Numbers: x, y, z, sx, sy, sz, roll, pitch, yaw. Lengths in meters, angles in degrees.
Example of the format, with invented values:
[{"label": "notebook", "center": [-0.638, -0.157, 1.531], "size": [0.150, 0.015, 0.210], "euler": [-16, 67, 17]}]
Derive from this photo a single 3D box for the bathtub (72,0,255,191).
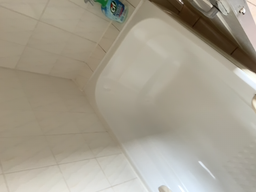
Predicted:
[{"label": "bathtub", "center": [0.470, 0.230, 1.060], "size": [0.730, 0.490, 1.750], "euler": [-53, 58, 21]}]
